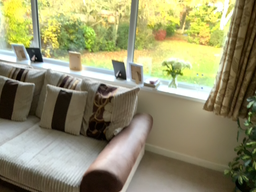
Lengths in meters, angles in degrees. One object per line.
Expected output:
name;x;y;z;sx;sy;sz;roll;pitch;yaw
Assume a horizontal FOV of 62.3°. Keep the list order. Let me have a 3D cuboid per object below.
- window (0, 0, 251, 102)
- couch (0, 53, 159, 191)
window;-0.630;-0.970;2.400;3.520;1.400;0.040;13;24;17
couch;-0.900;0.240;1.990;2.090;0.850;0.990;13;24;16
